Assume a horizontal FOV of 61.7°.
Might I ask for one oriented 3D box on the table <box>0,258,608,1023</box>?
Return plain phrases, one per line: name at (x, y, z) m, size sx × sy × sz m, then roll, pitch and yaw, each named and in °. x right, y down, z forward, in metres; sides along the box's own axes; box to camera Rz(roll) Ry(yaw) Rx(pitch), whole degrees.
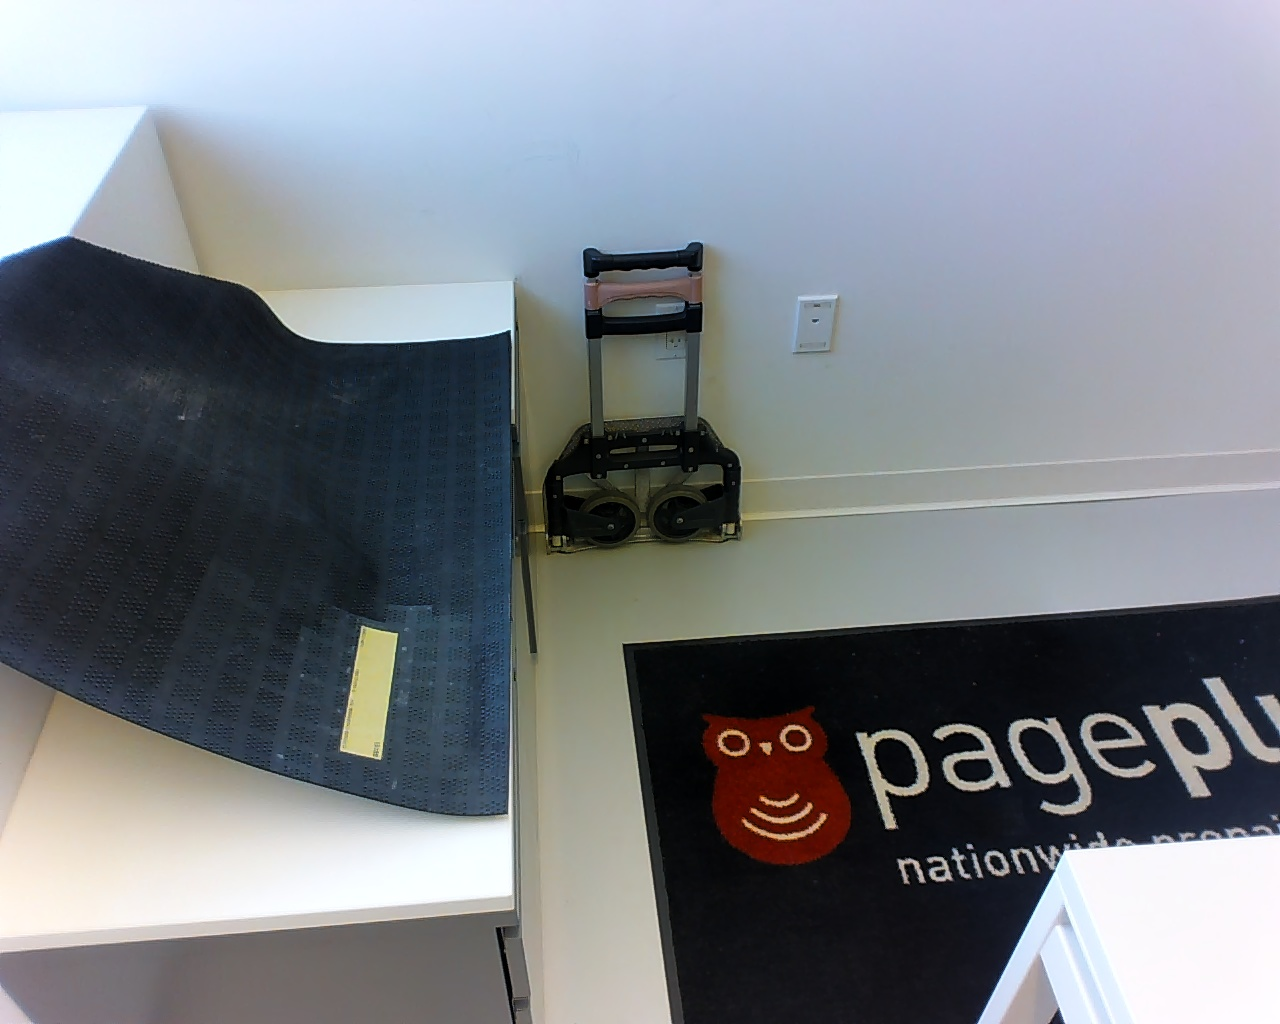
table at (-0.360, 0.190, 1.560) m, size 0.550 × 0.590 × 1.140 m, roll -4°, pitch 42°, yaw -3°
